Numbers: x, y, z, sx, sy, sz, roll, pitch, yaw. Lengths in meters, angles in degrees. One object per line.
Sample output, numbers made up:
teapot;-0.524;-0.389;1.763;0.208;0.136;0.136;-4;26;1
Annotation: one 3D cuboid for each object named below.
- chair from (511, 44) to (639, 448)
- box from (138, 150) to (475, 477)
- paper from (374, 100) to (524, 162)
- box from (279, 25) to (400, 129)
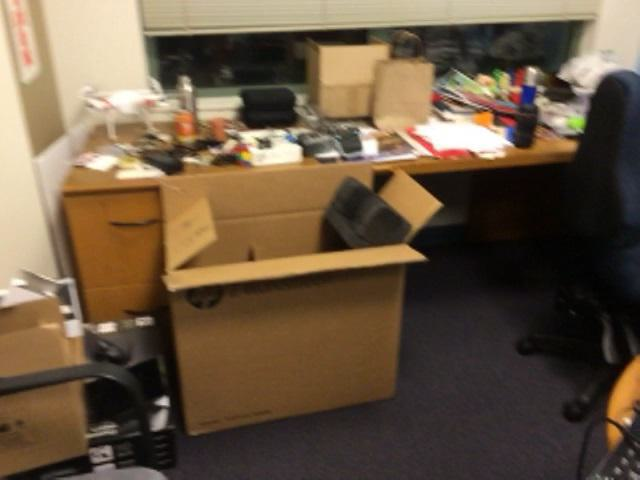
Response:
chair;1.030;-0.010;1.770;0.560;1.060;0.540;-8;26;-10
box;-0.050;0.190;1.810;0.850;0.740;0.510;-8;26;-10
paper;0.450;-0.410;2.120;0.390;0.080;0.440;-8;26;-10
box;0.070;-0.670;2.330;0.400;0.320;0.360;-8;26;-10
